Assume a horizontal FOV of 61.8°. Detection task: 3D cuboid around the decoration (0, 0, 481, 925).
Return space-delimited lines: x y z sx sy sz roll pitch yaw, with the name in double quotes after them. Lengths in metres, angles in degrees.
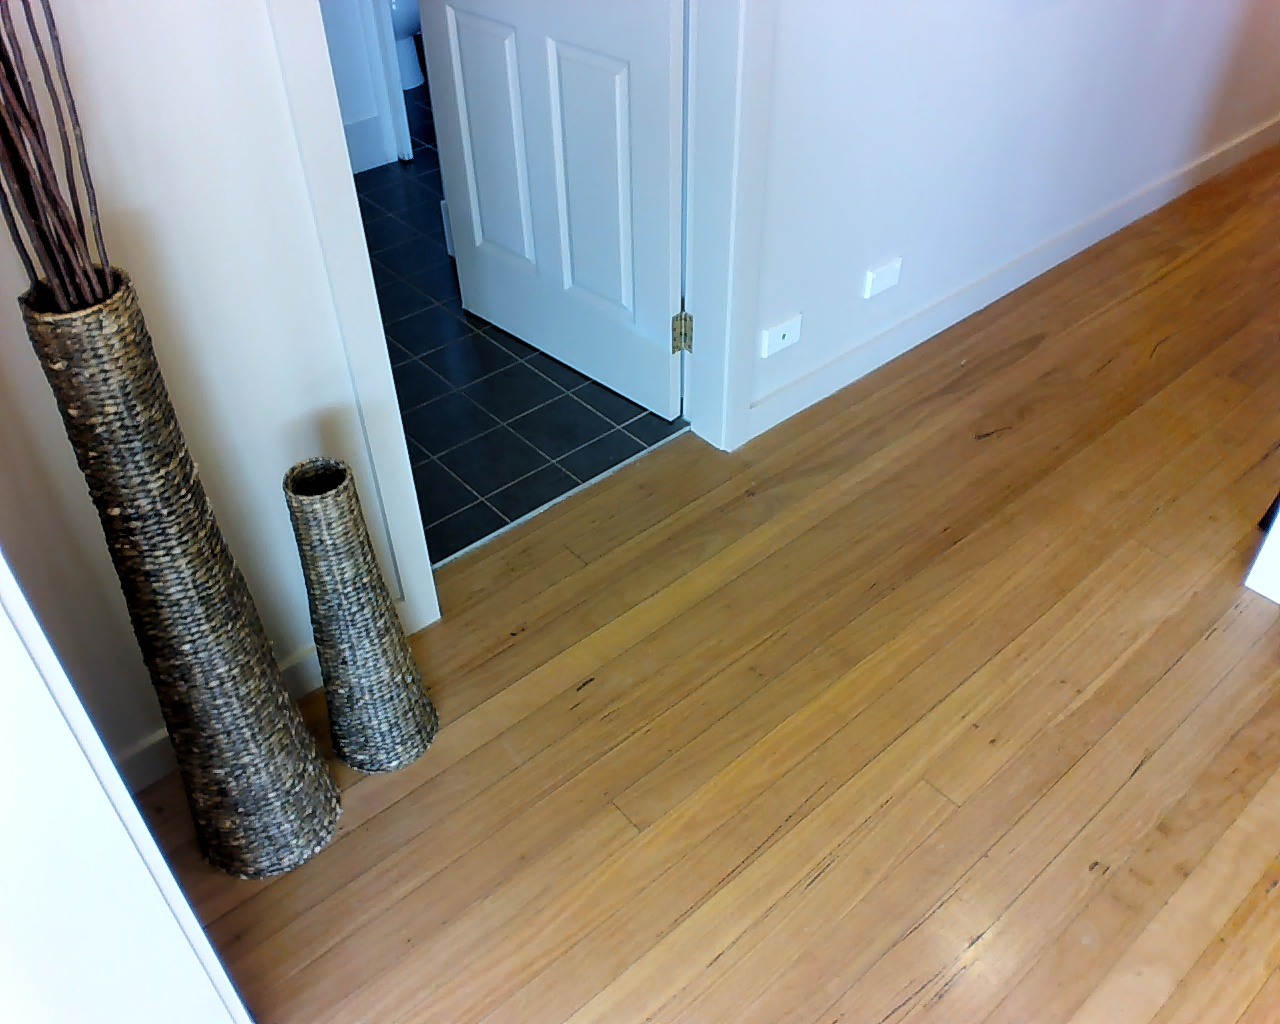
-0.590 -0.050 1.450 0.480 1.310 0.360 -30 49 -30 "decoration"
